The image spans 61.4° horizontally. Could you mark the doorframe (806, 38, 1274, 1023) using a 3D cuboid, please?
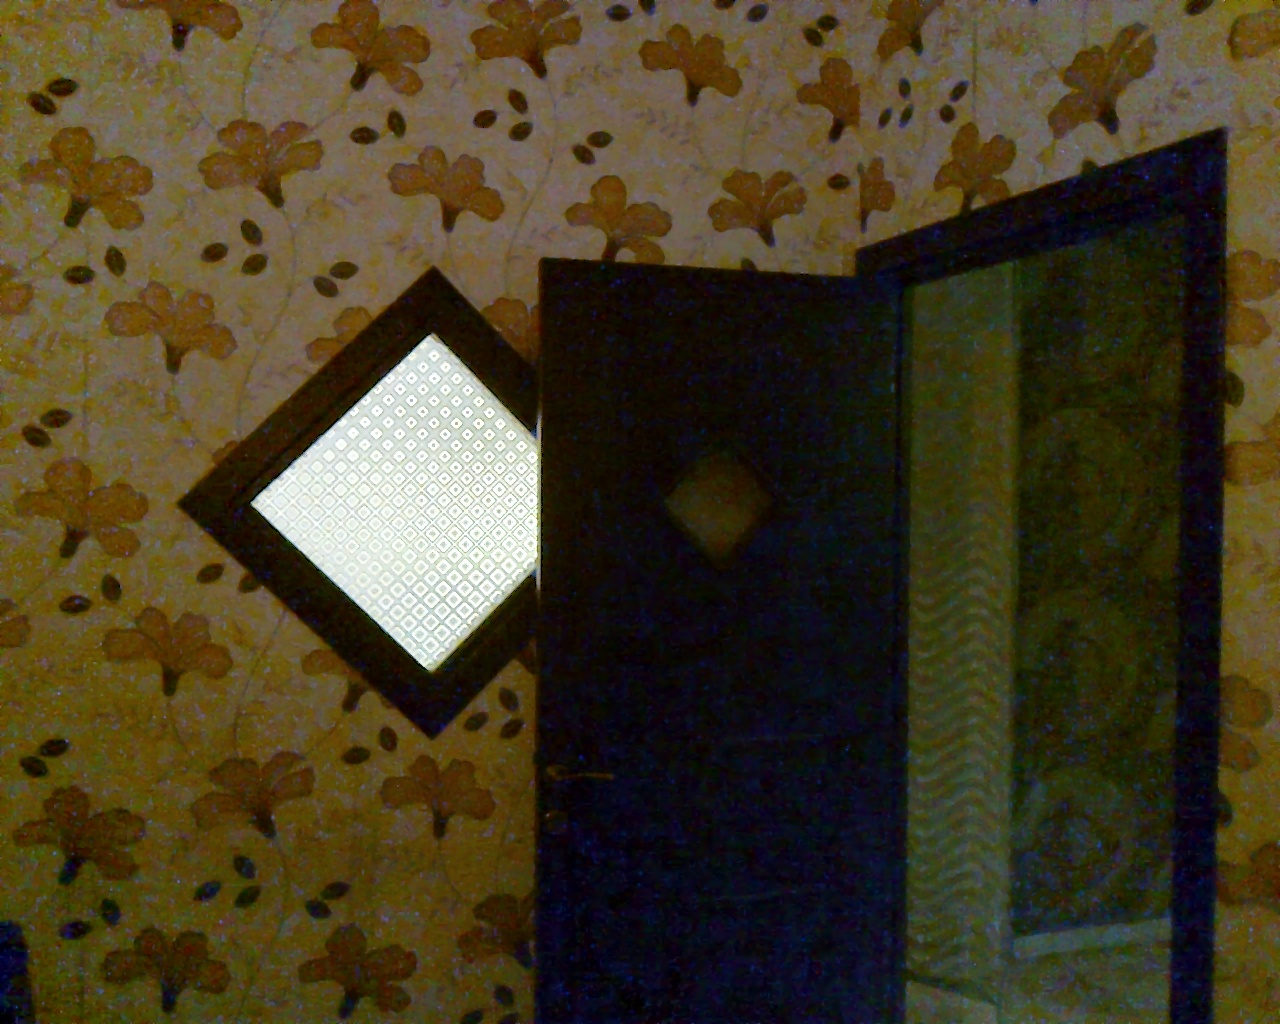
[{"bbox_3d":[0.660,0.450,2.040,0.180,2.260,1.000,-1,1,-23],"label":"doorframe"}]
